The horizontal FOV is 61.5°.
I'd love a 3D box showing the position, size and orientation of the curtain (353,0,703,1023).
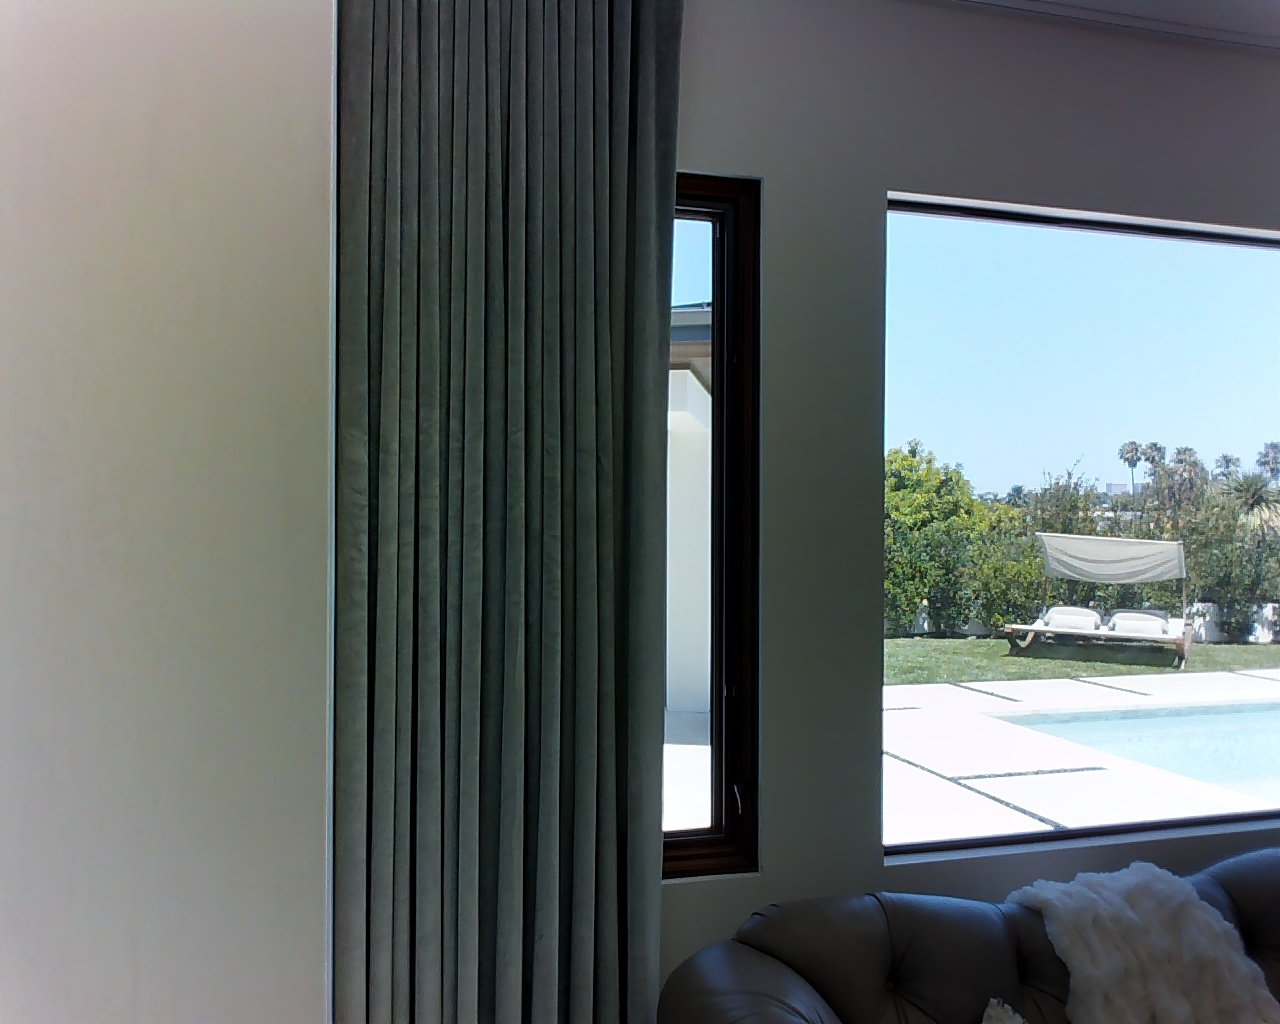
[{"bbox_3d":[-0.210,0.260,2.020,0.620,2.770,0.150,1,0,-16],"label":"curtain"}]
